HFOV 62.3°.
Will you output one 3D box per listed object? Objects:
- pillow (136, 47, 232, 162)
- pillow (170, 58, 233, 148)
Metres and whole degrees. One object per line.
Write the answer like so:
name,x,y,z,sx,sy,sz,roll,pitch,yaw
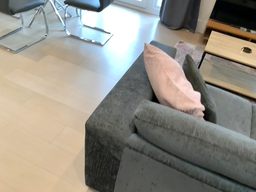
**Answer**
pillow,0.290,0.000,1.220,0.230,0.490,0.510,-20,18,-9
pillow,0.440,0.020,1.310,0.160,0.390,0.410,-17,27,-6
